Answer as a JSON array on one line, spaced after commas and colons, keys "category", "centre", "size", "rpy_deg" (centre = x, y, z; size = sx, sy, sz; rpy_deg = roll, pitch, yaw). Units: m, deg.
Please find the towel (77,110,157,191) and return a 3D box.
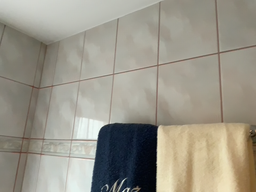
[{"category": "towel", "centre": [-0.040, 0.270, 0.750], "size": [0.240, 0.410, 0.130], "rpy_deg": [-7, -18, 35]}]
